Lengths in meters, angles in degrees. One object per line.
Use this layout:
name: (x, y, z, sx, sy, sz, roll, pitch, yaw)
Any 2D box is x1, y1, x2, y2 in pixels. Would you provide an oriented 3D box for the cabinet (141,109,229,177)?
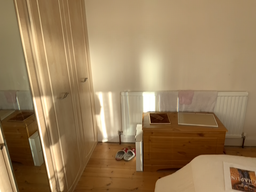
cabinet: (0.560, 0.480, 2.310, 0.810, 0.520, 0.500, 0, 20, 5)
